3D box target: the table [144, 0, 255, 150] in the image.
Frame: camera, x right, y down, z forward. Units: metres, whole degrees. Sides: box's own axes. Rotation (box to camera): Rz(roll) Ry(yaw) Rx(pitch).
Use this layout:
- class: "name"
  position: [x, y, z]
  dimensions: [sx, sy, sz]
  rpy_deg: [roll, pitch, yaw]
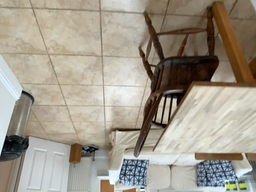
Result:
- class: "table"
  position: [1.180, -0.130, 1.550]
  dimensions: [1.950, 0.740, 1.050]
  rpy_deg: [2, 148, -4]

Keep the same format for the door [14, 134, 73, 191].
- class: "door"
  position: [-1.270, 1.560, 3.060]
  dimensions: [0.750, 1.930, 0.090]
  rpy_deg: [24, 141, -35]

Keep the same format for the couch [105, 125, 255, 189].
- class: "couch"
  position: [0.680, 1.020, 3.430]
  dimensions: [2.060, 0.740, 0.990]
  rpy_deg: [1, 149, -4]
